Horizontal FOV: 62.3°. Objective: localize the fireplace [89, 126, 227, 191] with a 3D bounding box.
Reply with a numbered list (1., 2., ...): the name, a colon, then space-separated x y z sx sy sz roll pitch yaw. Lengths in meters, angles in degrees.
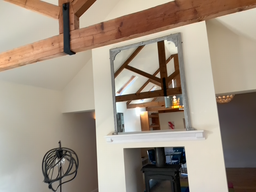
1. fireplace: 0.540 1.420 3.770 2.170 1.610 1.000 -7 -8 22
